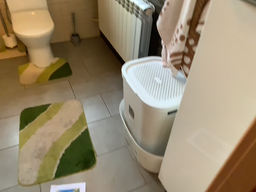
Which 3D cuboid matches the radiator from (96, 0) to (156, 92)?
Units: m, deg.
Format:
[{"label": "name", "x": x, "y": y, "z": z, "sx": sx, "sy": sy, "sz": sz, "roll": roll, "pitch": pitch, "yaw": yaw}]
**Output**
[{"label": "radiator", "x": -0.090, "y": -0.650, "z": 2.000, "sx": 0.110, "sy": 0.750, "sz": 1.030, "roll": -15, "pitch": 46, "yaw": -19}]
